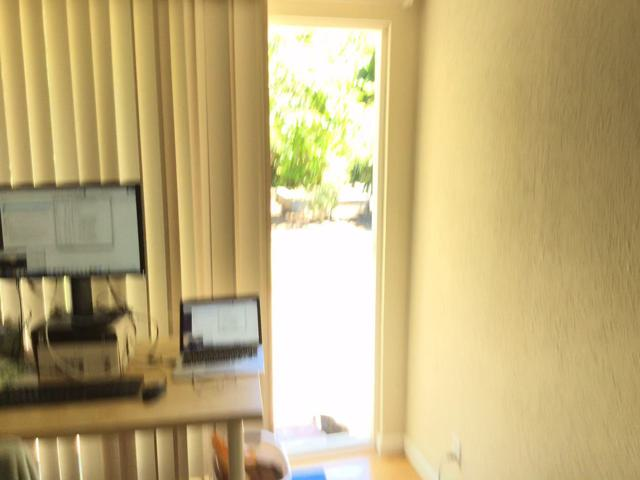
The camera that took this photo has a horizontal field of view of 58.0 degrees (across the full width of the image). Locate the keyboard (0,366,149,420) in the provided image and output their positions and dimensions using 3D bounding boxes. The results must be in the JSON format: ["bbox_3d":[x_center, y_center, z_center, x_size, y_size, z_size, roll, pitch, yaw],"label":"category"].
[{"bbox_3d":[-0.800,0.490,1.870,0.470,0.070,0.200,0,7,-17],"label":"keyboard"}]
